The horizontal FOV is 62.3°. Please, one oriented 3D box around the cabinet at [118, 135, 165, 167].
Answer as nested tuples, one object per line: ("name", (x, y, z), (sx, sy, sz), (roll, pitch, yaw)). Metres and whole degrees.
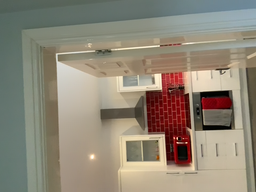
("cabinet", (0.260, 1.030, 4.020), (0.390, 0.820, 0.500), (44, -137, -83))
